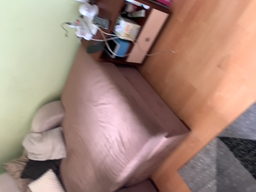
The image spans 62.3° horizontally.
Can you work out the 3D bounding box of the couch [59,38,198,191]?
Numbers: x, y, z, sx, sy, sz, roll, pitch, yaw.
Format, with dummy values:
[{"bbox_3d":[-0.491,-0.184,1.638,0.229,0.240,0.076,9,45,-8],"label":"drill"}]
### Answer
[{"bbox_3d":[-0.070,0.090,1.620,0.910,0.470,0.570,53,127,32],"label":"couch"}]
